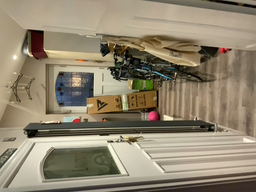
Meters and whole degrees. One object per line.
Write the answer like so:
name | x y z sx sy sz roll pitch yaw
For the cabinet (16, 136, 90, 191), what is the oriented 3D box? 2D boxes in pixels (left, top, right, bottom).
cabinet | -1.000 0.980 3.080 1.780 0.730 0.370 -167 79 -75

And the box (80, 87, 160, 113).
box | -0.190 0.110 4.220 0.680 1.460 0.390 144 125 -71
